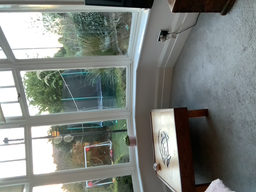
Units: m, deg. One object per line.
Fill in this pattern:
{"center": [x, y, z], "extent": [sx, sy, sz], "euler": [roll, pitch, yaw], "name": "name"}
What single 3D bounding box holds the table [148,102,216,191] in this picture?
{"center": [0.510, 0.510, 2.270], "extent": [0.820, 0.340, 0.820], "euler": [153, 113, -80], "name": "table"}
